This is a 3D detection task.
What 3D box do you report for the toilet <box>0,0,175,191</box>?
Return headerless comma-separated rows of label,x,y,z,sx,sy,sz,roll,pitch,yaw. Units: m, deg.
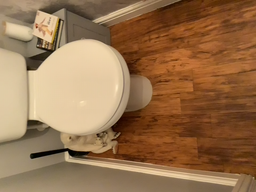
toilet,-0.300,-0.020,0.880,0.690,0.780,0.460,-6,86,35
